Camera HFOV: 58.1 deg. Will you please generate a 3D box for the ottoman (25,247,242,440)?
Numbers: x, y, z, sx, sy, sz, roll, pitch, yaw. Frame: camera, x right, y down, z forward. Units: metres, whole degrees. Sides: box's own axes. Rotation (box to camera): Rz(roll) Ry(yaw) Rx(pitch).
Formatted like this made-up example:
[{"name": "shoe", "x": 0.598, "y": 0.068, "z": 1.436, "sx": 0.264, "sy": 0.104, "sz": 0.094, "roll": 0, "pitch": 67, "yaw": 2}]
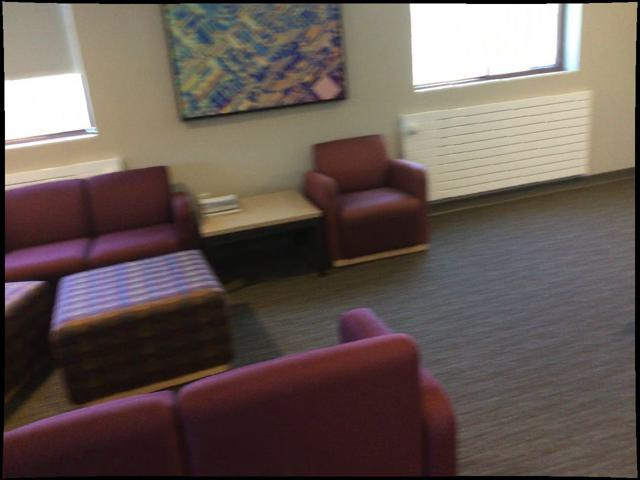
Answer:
[{"name": "ottoman", "x": -0.908, "y": 0.461, "z": 2.940, "sx": 0.838, "sy": 0.501, "sz": 0.810, "roll": -11, "pitch": 18, "yaw": -13}]
